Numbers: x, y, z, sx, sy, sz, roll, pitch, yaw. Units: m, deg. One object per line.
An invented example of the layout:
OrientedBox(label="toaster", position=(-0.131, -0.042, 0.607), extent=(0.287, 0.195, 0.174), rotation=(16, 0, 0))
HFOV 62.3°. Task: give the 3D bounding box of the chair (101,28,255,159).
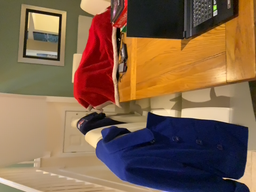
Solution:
OrientedBox(label="chair", position=(0.400, 0.030, 1.330), extent=(0.460, 1.030, 0.580), rotation=(167, 105, -69))
